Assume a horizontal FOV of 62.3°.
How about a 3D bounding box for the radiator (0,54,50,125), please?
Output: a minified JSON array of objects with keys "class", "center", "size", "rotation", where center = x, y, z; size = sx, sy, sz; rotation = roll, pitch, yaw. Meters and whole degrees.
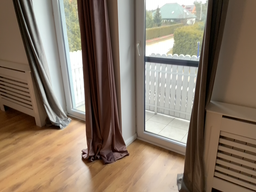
[{"class":"radiator","center":[-1.680,-0.140,3.170],"size":[1.200,0.850,0.180],"rotation":[14,26,33]}]
